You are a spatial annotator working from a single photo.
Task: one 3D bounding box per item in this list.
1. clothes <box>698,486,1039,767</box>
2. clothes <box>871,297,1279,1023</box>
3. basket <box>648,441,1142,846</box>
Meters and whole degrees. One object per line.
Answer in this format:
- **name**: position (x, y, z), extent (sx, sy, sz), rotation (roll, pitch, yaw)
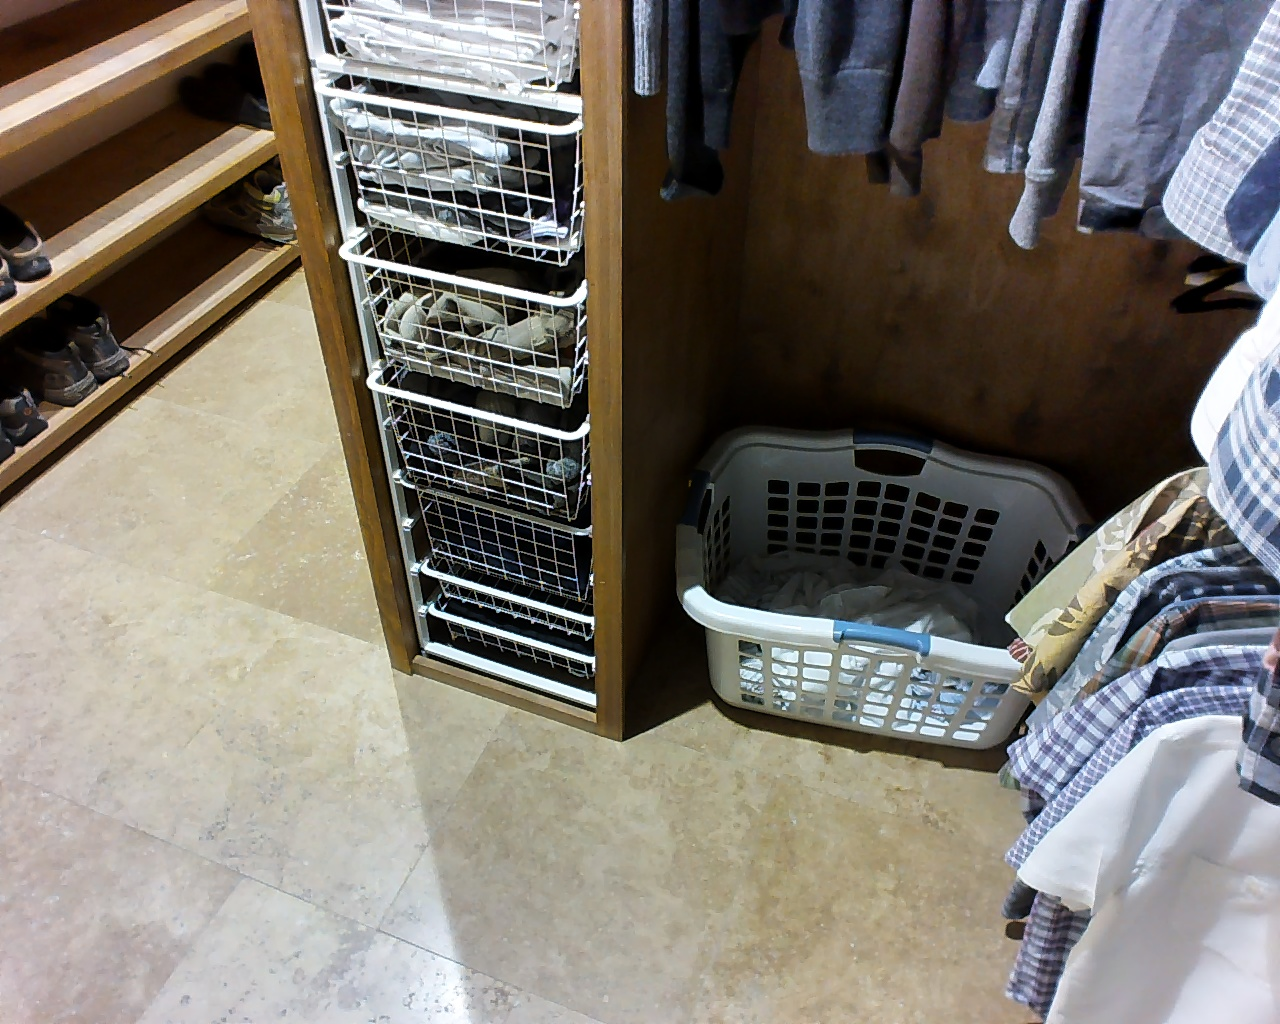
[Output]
- **clothes**: position (0.400, 0.180, 1.860), extent (0.500, 0.150, 0.370), rotation (14, 43, 15)
- **clothes**: position (0.690, 0.330, 1.220), extent (0.660, 0.790, 0.700), rotation (14, 43, 15)
- **basket**: position (0.410, 0.190, 1.780), extent (0.690, 0.280, 0.480), rotation (10, 42, 12)
